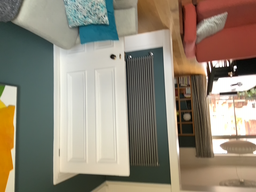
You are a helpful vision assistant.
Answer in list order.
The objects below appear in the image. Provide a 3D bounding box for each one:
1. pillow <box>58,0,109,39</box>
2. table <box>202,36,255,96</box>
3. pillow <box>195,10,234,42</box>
[{"bbox_3d":[-0.390,-0.740,1.870,0.290,0.360,0.120,31,-177,17],"label":"pillow"},{"bbox_3d":[2.600,-0.600,5.310,1.250,0.890,2.430,-4,174,16],"label":"table"},{"bbox_3d":[0.980,-0.790,2.450,0.360,0.160,0.410,-3,174,15],"label":"pillow"}]
